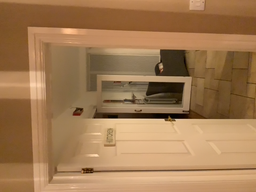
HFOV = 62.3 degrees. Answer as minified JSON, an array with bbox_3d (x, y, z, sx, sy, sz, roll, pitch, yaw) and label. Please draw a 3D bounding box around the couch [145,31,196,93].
[{"bbox_3d":[0.890,-0.740,4.820,1.010,0.810,0.950,100,170,-59],"label":"couch"}]
